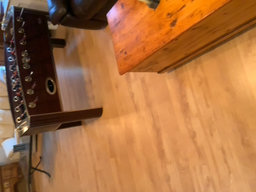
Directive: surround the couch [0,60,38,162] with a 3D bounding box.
[{"bbox_3d":[-2.810,0.290,5.090,1.130,0.860,2.100,27,115,46],"label":"couch"}]
